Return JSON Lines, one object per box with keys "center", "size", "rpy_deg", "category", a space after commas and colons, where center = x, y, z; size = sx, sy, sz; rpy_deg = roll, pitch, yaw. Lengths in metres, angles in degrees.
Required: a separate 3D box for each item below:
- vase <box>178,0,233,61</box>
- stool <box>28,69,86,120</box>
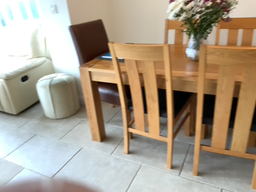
{"center": [0.560, -0.500, 1.590], "size": [0.340, 0.430, 0.130], "rpy_deg": [-4, 27, 3], "category": "vase"}
{"center": [-0.830, -0.040, 2.550], "size": [0.400, 0.440, 0.410], "rpy_deg": [7, 29, 23], "category": "stool"}
